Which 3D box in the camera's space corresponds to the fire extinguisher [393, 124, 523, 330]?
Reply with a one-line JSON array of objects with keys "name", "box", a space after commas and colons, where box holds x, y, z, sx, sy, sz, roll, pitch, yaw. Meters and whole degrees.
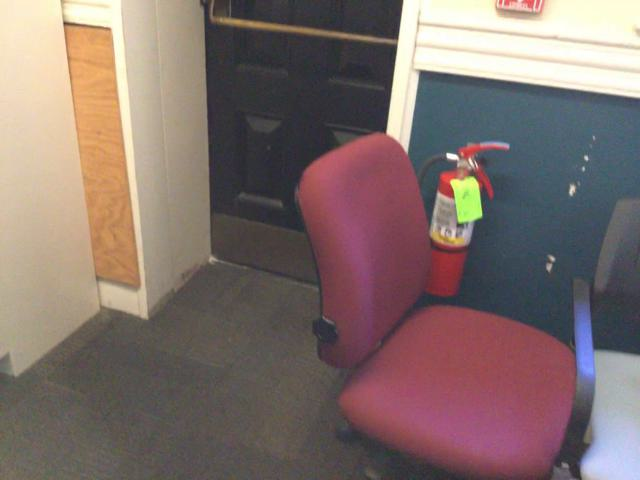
[{"name": "fire extinguisher", "box": [0.350, -0.030, 1.500, 0.230, 0.480, 0.140, 13, 28, 16]}]
